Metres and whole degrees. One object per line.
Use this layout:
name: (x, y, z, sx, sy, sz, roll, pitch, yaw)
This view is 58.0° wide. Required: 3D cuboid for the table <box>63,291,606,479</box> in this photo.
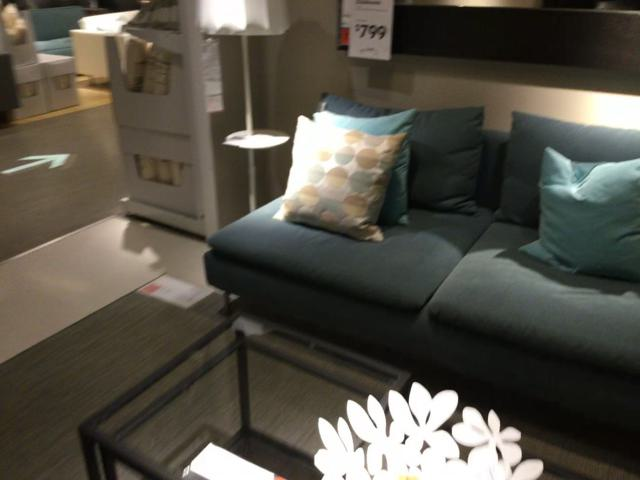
table: (0.000, 0.580, 1.230, 0.930, 0.550, 0.500, 16, 27, 30)
